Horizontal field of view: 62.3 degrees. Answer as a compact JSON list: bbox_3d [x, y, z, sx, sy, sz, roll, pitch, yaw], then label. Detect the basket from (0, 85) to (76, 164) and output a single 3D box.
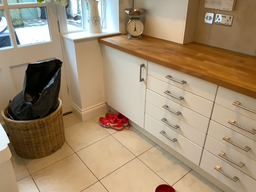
[{"bbox_3d":[-0.860,0.230,2.000,0.520,0.380,0.510,-20,35,-32],"label":"basket"}]
